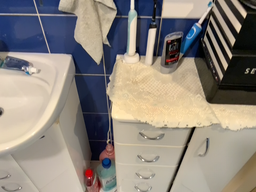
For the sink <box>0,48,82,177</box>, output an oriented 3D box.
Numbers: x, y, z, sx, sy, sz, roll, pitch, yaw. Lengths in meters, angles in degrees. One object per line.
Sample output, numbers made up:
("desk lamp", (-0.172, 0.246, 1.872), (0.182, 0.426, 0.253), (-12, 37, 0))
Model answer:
("sink", (-0.500, 0.020, 0.710), (0.600, 0.130, 0.440), (1, 46, 0))
